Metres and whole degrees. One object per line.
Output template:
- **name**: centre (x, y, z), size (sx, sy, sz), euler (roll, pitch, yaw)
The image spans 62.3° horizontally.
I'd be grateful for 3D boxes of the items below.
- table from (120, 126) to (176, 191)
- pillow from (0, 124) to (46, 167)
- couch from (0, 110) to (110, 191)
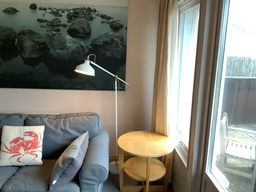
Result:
- **table**: centre (0.200, 0.720, 2.550), size (0.580, 0.540, 0.550), euler (0, 13, -4)
- **pillow**: centre (-1.090, 0.480, 2.050), size (0.480, 0.380, 0.190), euler (2, -16, -5)
- **couch**: centre (-1.100, 0.670, 2.060), size (1.810, 0.820, 0.830), euler (-1, 13, -7)
